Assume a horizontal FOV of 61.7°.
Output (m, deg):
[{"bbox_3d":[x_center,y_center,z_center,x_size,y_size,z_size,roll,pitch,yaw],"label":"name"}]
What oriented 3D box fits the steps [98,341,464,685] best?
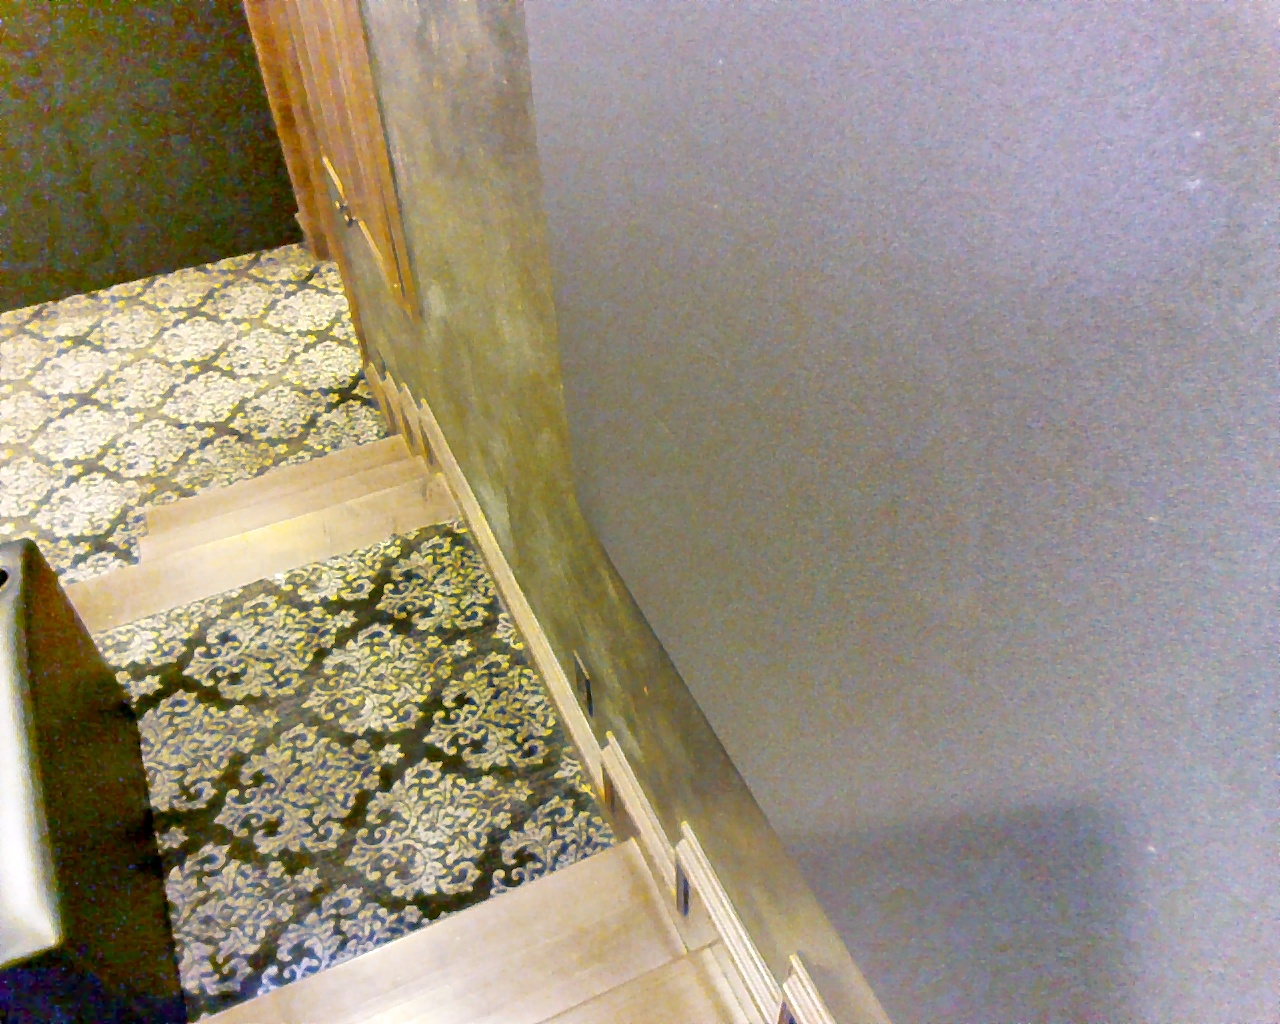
[{"bbox_3d":[-1.010,-0.020,3.050,0.790,0.480,0.620,-19,47,-16],"label":"steps"}]
